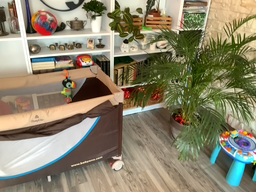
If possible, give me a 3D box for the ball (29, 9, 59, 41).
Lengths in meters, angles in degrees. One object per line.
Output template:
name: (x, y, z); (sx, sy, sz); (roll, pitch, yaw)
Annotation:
ball: (-0.770, -0.660, 1.950); (0.200, 0.240, 0.220); (-11, 32, -24)
